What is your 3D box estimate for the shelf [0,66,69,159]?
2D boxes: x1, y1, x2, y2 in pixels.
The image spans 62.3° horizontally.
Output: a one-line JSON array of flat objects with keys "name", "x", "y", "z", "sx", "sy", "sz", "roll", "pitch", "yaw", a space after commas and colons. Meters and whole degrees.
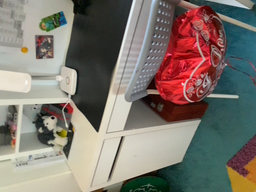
[{"name": "shelf", "x": -0.650, "y": 0.070, "z": 1.130, "sx": 0.370, "sy": 0.500, "sz": 0.350, "roll": 38, "pitch": 120, "yaw": 44}]

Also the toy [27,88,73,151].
[{"name": "toy", "x": -0.450, "y": 0.120, "z": 1.200, "sx": 0.260, "sy": 0.150, "sz": 0.240, "roll": 38, "pitch": 120, "yaw": 44}]

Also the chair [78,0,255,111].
[{"name": "chair", "x": 0.230, "y": -0.220, "z": 1.020, "sx": 0.410, "sy": 0.760, "sz": 0.370, "roll": 43, "pitch": 123, "yaw": 42}]
